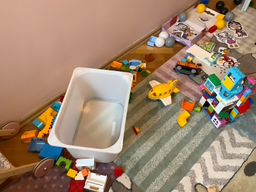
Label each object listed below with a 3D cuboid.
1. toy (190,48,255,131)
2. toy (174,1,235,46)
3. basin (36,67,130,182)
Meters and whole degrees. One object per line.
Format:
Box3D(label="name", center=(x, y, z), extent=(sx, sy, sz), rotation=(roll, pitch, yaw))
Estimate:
Box3D(label="toy", center=(0.520, -0.030, 1.090), extent=(0.250, 0.270, 0.230), rotation=(33, 60, 19))
Box3D(label="toy", center=(0.610, -0.590, 1.700), extent=(0.330, 0.070, 0.350), rotation=(38, 62, 22))
Box3D(label="basin", center=(-0.170, 0.120, 1.020), extent=(0.330, 0.190, 0.500), rotation=(3, 55, 1))
